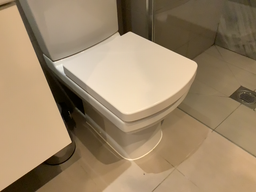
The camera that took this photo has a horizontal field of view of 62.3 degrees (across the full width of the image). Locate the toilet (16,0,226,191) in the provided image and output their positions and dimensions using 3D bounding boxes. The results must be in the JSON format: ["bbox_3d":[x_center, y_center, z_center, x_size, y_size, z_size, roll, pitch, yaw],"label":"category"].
[{"bbox_3d":[-0.050,-0.110,0.880,0.400,0.760,0.590,-33,51,-27],"label":"toilet"}]
